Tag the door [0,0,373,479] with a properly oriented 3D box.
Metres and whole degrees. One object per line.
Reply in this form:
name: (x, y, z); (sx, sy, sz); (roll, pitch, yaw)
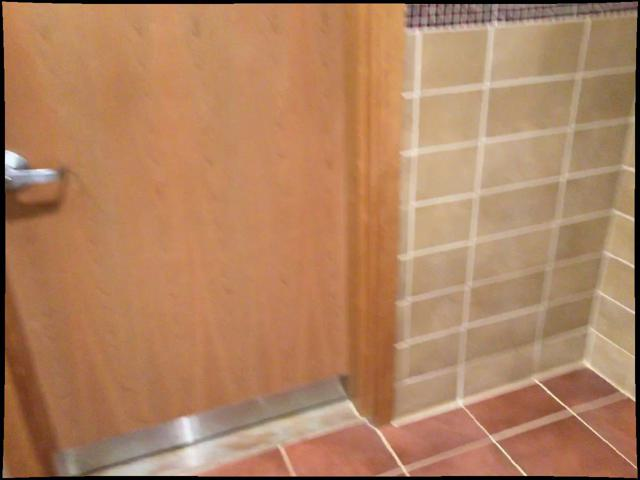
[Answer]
door: (-0.340, -0.340, 1.380); (0.919, 2.062, 0.090); (-12, 26, -16)
